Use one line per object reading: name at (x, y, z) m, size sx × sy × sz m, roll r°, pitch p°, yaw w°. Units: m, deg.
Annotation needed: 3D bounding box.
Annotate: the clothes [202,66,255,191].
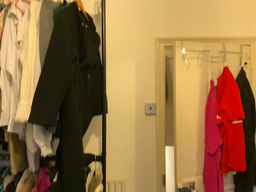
clothes at (0.750, 0.310, 1.580) m, size 0.340 × 1.030 × 0.170 m, roll -1°, pitch 2°, yaw -23°
